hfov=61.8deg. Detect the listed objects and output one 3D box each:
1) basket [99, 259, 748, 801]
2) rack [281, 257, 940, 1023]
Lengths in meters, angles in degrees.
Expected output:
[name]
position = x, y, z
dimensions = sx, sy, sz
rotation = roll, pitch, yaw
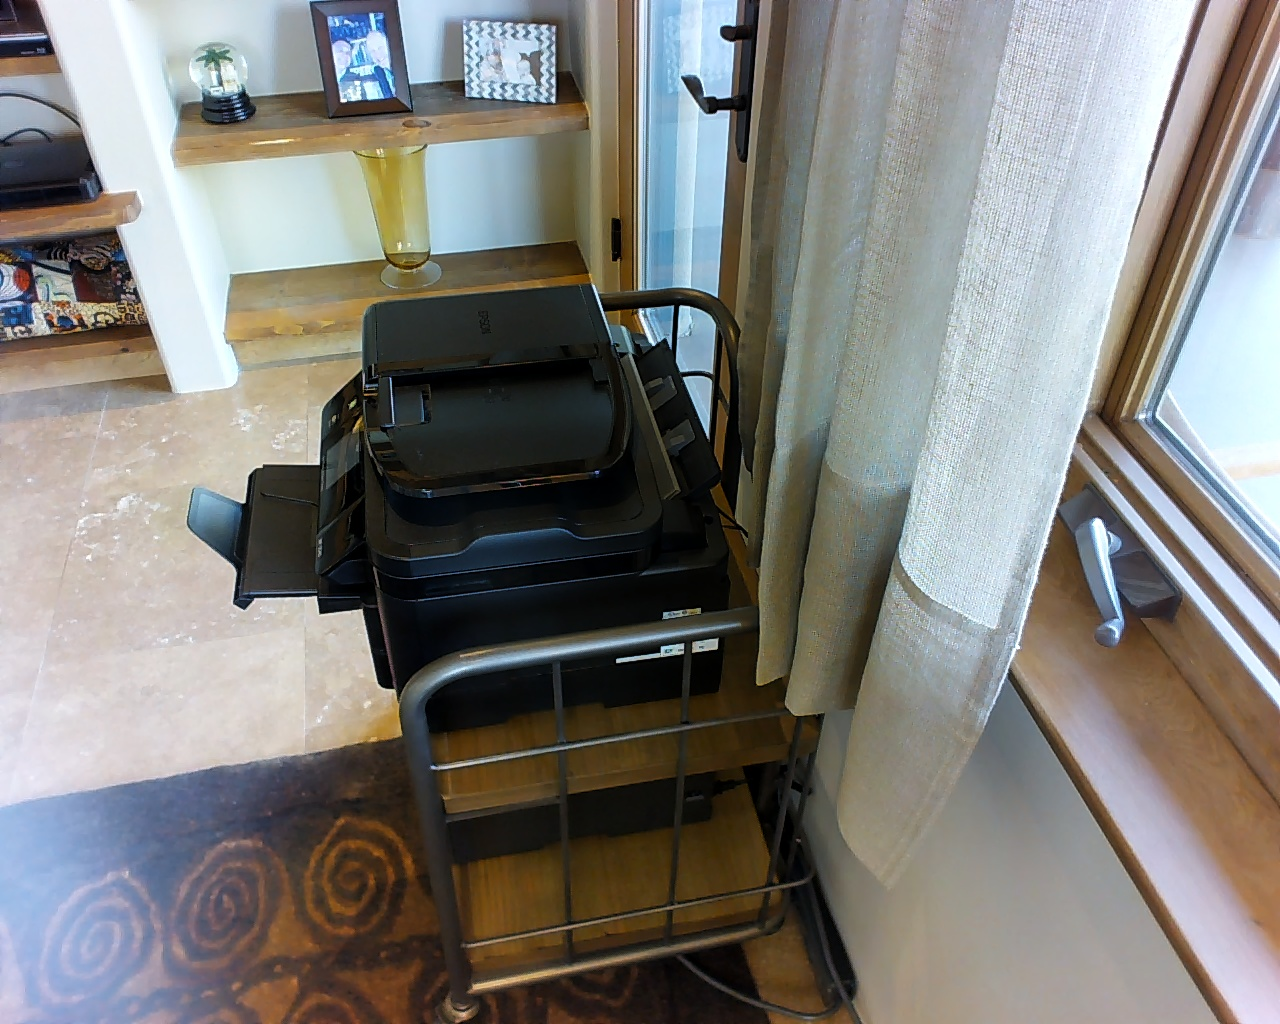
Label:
[basket]
position = -0.230, -0.020, 1.180
dimensions = 0.550, 0.230, 0.520
rotation = -9, 43, -10
[rack]
position = -0.090, 0.200, 1.410
dimensions = 0.570, 0.740, 0.710
rotation = -9, 43, -10
